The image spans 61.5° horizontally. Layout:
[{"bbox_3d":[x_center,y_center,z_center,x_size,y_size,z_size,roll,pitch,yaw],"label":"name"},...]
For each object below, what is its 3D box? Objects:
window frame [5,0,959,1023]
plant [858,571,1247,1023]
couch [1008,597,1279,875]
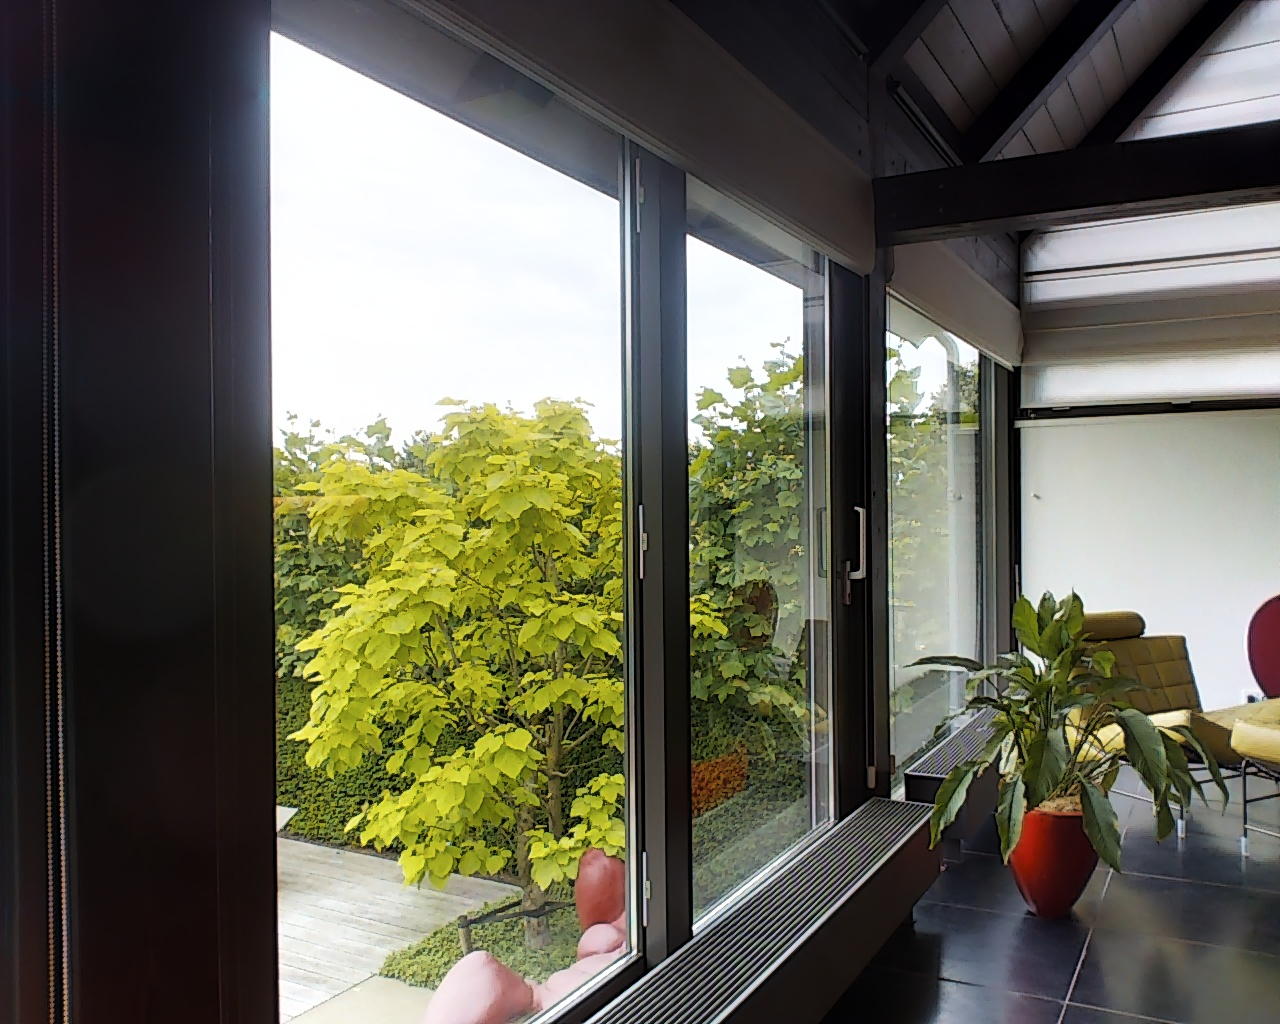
[{"bbox_3d":[0.160,0.180,2.510,0.450,2.290,3.000,-1,0,29],"label":"window frame"},{"bbox_3d":[1.430,0.780,3.590,1.020,1.090,1.290,-1,0,29],"label":"plant"},{"bbox_3d":[2.560,0.880,4.590,0.980,0.890,1.680,0,0,-25],"label":"couch"}]
